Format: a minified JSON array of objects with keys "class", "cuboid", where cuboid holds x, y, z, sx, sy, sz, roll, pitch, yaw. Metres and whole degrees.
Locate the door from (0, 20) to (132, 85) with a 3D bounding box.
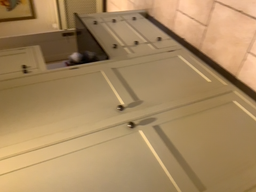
[{"class":"door","cuboid":[-0.880,-0.620,2.960,0.700,1.960,0.070,98,150,-43]}]
